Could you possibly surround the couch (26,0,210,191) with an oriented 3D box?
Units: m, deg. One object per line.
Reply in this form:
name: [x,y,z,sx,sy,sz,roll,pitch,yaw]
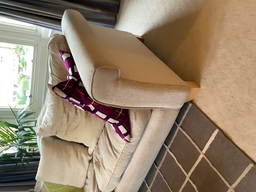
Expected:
couch: [-0.390,0.490,1.890,0.960,0.770,2.190,57,135,47]
